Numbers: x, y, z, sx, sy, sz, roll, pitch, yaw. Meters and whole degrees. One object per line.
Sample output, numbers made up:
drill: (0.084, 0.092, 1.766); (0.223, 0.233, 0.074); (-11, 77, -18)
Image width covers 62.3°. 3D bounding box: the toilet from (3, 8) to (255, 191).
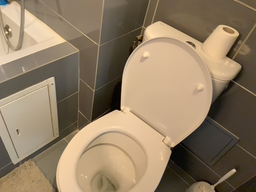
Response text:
toilet: (0.010, 0.180, 0.860); (0.390, 0.790, 0.640); (38, 50, 20)
